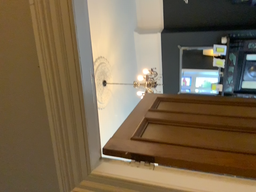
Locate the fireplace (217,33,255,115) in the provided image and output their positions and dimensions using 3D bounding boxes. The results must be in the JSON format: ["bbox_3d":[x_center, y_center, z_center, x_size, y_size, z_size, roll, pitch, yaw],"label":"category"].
[{"bbox_3d":[2.550,-0.420,4.290,0.520,1.200,1.570,-59,-32,-55],"label":"fireplace"}]
